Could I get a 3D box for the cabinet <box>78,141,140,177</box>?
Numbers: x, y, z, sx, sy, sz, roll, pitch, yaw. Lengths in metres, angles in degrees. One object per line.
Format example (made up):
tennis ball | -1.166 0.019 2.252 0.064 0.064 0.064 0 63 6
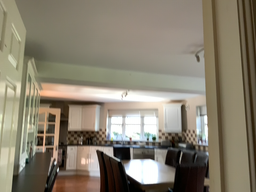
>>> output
cabinet | -0.570 1.860 6.430 1.760 0.890 0.600 -2 -9 16
